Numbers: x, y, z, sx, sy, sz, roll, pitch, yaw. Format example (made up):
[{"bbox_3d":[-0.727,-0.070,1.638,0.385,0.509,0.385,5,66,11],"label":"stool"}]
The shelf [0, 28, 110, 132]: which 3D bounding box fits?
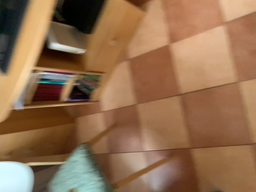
[{"bbox_3d":[-0.580,-0.120,1.380,0.510,0.680,0.370,39,112,27],"label":"shelf"}]
